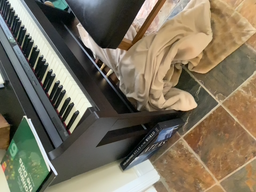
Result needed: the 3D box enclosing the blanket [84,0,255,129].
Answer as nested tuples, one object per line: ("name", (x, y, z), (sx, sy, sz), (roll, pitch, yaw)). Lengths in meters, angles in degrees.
("blanket", (0.200, -0.280, 1.230), (0.830, 0.350, 0.510), (-47, 64, 28))
